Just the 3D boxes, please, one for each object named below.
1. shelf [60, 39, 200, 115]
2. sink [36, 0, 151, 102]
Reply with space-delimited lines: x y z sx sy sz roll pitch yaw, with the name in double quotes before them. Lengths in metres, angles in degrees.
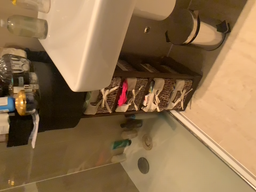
"shelf" 0.030 -0.100 1.140 0.310 0.670 0.210 45 125 41
"sink" -0.120 -0.370 0.660 0.480 0.130 0.610 45 125 41
